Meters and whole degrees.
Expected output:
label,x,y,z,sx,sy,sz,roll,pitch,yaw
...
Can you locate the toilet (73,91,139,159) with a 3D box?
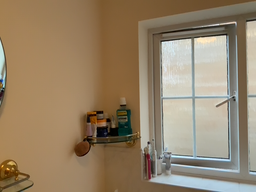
label,x,y,z,sx,sy,sz,roll,pitch,yaw
toilet,-0.110,0.140,1.210,0.250,0.330,0.310,-1,0,25
